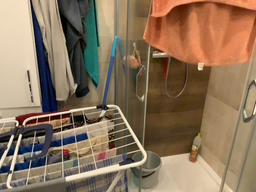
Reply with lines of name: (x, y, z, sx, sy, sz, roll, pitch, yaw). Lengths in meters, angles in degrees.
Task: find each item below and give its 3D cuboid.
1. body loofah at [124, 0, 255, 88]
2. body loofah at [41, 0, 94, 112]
body loofah: (0.370, -0.560, 0.890, 0.670, 0.940, 0.330, 10, 23, 20)
body loofah: (-0.380, -0.470, 1.320, 0.270, 1.130, 0.210, -5, 22, -18)
